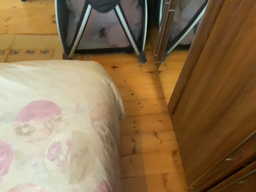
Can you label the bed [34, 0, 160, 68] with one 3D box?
[{"bbox_3d":[-0.280,-0.880,1.870,0.820,0.710,0.960,-6,56,-9],"label":"bed"}]
